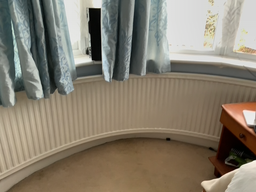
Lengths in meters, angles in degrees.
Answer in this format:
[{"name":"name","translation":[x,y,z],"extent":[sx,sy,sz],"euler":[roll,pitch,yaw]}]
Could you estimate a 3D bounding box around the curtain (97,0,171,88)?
[{"name":"curtain","translation":[0.050,-0.870,1.340],"extent":[0.480,1.620,0.180],"euler":[-12,29,-25]}]
